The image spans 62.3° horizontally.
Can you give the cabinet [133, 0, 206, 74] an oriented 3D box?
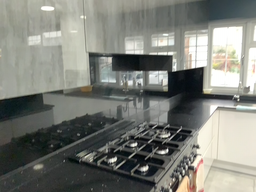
[{"bbox_3d":[0.620,-0.830,2.670,0.370,0.980,1.590,4,11,30],"label":"cabinet"}]
